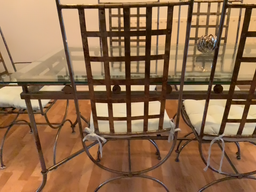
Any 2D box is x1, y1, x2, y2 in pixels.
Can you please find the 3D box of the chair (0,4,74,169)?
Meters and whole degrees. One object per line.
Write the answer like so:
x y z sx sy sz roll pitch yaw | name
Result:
-0.690 -0.060 1.440 0.400 1.020 0.390 3 24 9 | chair
